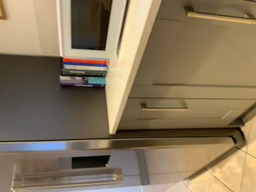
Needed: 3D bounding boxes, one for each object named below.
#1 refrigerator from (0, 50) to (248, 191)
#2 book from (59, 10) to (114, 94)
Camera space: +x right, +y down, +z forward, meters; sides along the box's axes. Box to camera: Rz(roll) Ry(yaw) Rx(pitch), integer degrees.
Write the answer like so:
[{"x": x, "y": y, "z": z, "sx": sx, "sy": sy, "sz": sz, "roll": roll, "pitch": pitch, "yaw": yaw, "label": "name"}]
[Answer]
[{"x": -0.250, "y": 0.280, "z": 1.700, "sx": 0.970, "sy": 1.780, "sz": 0.700, "roll": 110, "pitch": 156, "yaw": -53, "label": "refrigerator"}, {"x": -0.250, "y": -0.240, "z": 1.240, "sx": 0.360, "sy": 0.260, "sz": 0.300, "roll": 110, "pitch": 156, "yaw": -53, "label": "book"}]
